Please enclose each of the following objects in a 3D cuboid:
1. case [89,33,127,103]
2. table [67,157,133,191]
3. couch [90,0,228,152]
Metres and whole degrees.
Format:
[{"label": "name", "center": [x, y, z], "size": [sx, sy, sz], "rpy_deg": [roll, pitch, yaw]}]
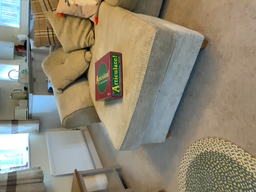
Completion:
[{"label": "case", "center": [-0.140, -0.150, 1.330], "size": [0.370, 0.080, 0.330], "rpy_deg": [-24, 67, 59]}, {"label": "table", "center": [-0.300, 0.940, 2.140], "size": [0.420, 0.490, 0.410], "rpy_deg": [46, 128, 54]}, {"label": "couch", "center": [0.120, -0.140, 1.440], "size": [0.580, 0.480, 0.790], "rpy_deg": [52, 133, 50]}]
